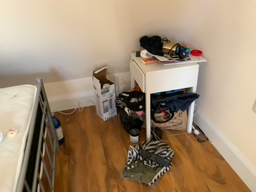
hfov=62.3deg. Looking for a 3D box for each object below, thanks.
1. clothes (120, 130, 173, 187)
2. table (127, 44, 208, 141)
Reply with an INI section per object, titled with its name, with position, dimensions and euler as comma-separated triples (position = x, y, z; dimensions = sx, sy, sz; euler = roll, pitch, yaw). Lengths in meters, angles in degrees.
[clothes]
position = 0.140, 0.400, 1.430
dimensions = 0.310, 0.060, 0.390
euler = 5, 34, 9
[table]
position = 0.260, -0.040, 1.650
dimensions = 0.430, 0.560, 0.410
euler = -11, 34, -14
